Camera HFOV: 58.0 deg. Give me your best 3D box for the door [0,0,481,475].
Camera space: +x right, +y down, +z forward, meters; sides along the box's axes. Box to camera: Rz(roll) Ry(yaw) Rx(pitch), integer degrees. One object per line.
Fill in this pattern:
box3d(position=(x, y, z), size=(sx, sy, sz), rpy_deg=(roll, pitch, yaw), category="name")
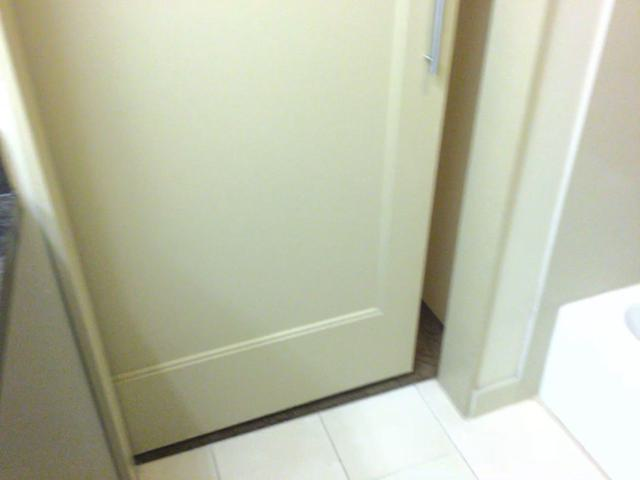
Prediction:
box3d(position=(-0.100, -0.100, 1.220), size=(0.840, 1.390, 0.100), rpy_deg=(-12, 35, -16), category="door")
